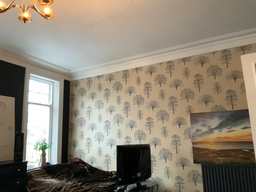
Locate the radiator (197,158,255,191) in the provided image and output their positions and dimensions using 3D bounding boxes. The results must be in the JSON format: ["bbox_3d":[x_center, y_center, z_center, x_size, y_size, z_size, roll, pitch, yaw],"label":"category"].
[{"bbox_3d":[1.740,1.430,3.500,1.080,0.750,0.120,-8,-12,28],"label":"radiator"}]
